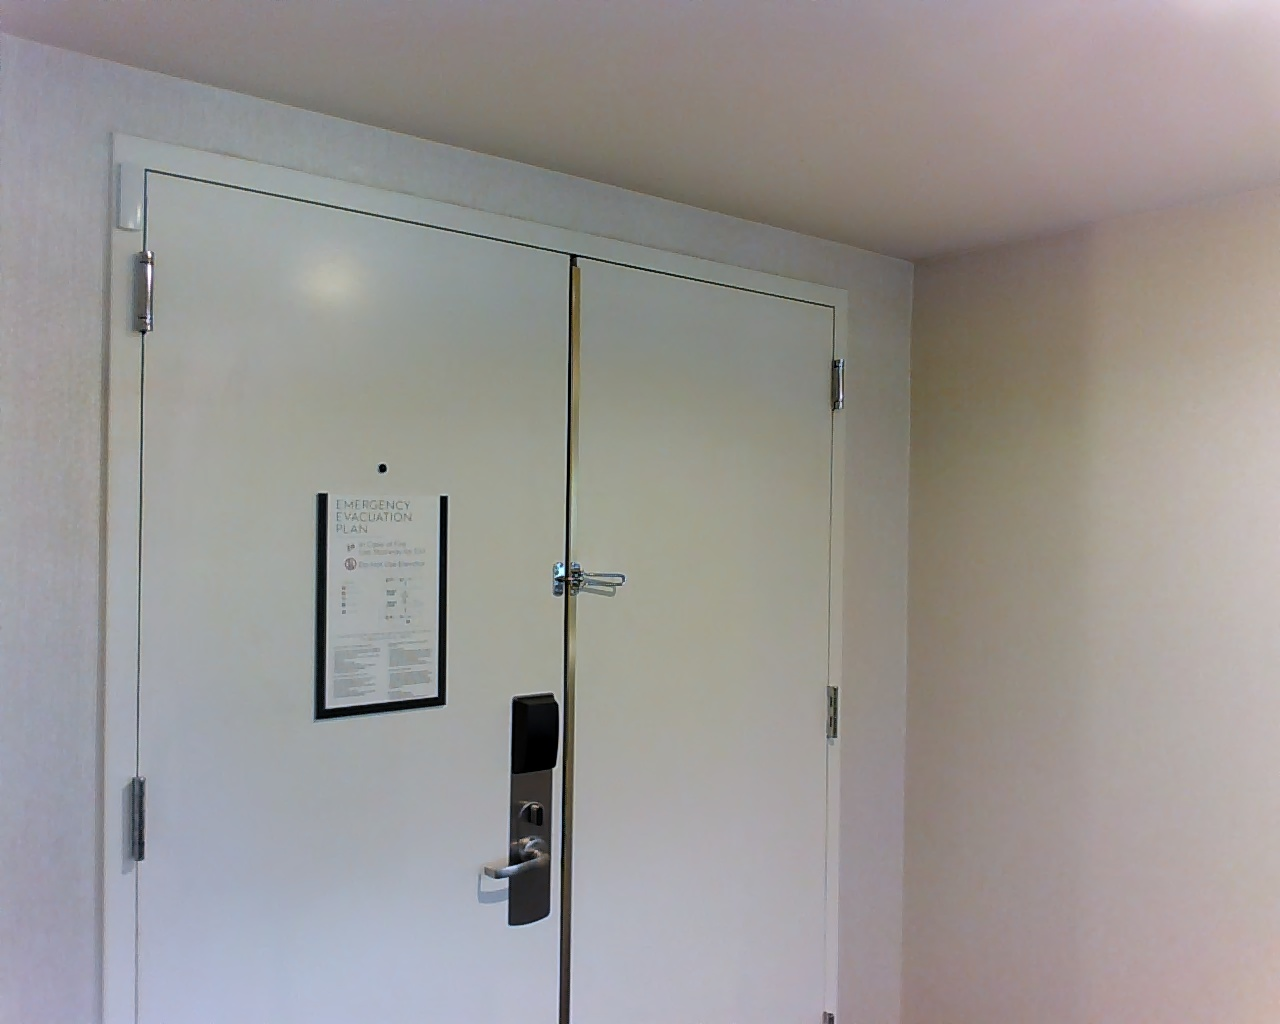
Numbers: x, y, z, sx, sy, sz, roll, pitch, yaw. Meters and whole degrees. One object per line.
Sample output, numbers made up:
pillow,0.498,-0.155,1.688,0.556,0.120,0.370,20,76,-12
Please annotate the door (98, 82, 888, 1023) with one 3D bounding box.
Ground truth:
door,-0.120,0.450,2.080,1.660,2.100,0.100,1,1,-38
